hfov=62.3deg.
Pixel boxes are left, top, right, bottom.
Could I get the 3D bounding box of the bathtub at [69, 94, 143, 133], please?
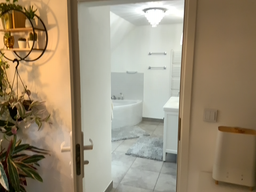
[{"bbox_3d":[-0.470,0.360,5.280,1.370,0.550,1.350,4,10,18],"label":"bathtub"}]
